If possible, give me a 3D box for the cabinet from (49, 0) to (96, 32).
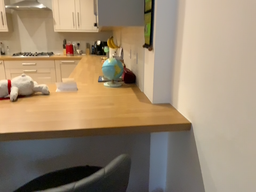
[{"bbox_3d":[-1.060,-1.680,4.170,0.840,0.780,0.370,-2,16,-8],"label":"cabinet"}]
